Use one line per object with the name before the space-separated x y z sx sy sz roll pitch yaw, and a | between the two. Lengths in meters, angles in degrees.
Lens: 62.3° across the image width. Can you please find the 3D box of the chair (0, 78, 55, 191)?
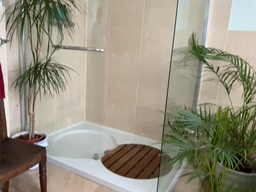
chair | -0.790 0.340 1.250 0.470 0.810 0.490 10 13 27
